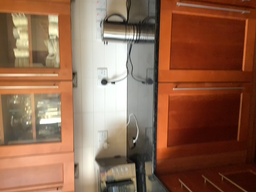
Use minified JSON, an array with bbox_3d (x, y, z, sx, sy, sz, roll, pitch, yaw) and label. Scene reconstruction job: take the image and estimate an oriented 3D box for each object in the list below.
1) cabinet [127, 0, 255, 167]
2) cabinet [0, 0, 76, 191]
[{"bbox_3d":[0.520,-0.360,1.700,0.680,0.880,1.530,-157,67,-72],"label":"cabinet"},{"bbox_3d":[-0.770,-0.030,1.520,0.380,0.730,2.170,-157,67,-72],"label":"cabinet"}]
